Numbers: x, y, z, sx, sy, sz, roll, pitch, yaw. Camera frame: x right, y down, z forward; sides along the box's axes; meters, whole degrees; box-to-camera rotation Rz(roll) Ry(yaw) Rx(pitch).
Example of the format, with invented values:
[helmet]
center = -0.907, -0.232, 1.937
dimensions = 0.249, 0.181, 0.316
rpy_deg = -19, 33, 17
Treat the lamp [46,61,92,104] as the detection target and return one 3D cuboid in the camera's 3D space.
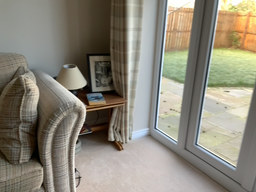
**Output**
[lamp]
center = -0.500, -0.130, 1.790
dimensions = 0.280, 0.260, 0.360
rpy_deg = -8, 22, -29
